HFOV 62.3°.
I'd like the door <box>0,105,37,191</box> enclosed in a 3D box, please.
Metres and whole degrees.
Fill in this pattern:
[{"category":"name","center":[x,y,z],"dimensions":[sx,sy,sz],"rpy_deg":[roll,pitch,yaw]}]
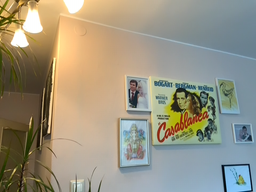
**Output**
[{"category":"door","center":[-1.490,1.200,2.680],"dimensions":[0.120,2.040,0.900],"rpy_deg":[-1,-13,1]}]
